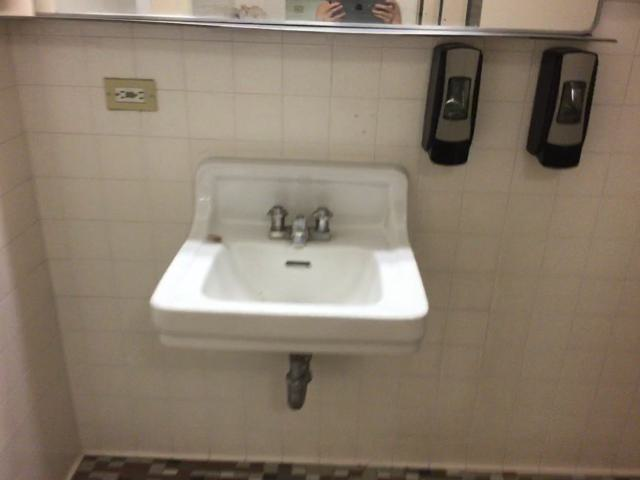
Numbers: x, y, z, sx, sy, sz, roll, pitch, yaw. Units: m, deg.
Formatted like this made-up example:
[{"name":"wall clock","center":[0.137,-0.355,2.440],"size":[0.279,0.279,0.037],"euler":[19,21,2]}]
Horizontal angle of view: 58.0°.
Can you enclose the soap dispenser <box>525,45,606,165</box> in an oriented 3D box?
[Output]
[{"name":"soap dispenser","center":[0.520,-0.290,1.240],"size":[0.100,0.240,0.100],"euler":[1,21,2]}]

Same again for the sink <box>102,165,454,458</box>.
[{"name":"sink","center":[-0.060,0.110,1.220],"size":[0.560,0.420,0.490],"euler":[1,21,2]}]

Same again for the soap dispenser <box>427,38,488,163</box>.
[{"name":"soap dispenser","center":[0.290,-0.300,1.240],"size":[0.090,0.250,0.100],"euler":[1,21,2]}]
